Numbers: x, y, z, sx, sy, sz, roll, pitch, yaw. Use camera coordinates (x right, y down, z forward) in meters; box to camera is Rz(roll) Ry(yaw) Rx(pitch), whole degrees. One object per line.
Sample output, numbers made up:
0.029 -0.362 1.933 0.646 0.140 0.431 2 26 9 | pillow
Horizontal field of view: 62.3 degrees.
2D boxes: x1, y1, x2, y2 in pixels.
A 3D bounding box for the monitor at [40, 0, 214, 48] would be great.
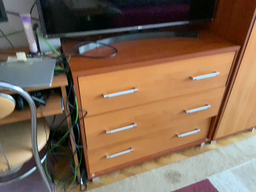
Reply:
0.060 -0.570 1.020 0.940 0.580 0.030 -12 37 -19 | monitor
